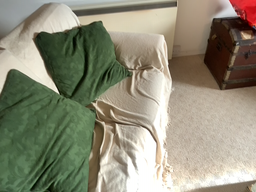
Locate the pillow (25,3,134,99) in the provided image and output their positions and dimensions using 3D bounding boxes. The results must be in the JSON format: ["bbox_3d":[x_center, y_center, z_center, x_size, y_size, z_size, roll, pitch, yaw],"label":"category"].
[{"bbox_3d":[-0.310,-0.260,1.460,0.230,0.520,0.520,48,24,20],"label":"pillow"}]

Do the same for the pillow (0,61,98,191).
[{"bbox_3d":[-0.410,0.210,1.050,0.230,0.530,0.550,28,25,-28],"label":"pillow"}]

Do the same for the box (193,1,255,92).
[{"bbox_3d":[1.180,-0.480,1.970,0.870,0.550,0.600,-6,45,-3],"label":"box"}]
